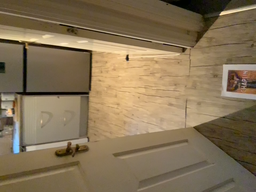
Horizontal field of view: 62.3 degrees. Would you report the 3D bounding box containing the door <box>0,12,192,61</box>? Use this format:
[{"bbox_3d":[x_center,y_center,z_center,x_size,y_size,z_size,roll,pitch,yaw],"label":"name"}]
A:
[{"bbox_3d":[-0.560,-0.370,1.430,0.880,1.990,0.050,8,97,54],"label":"door"}]

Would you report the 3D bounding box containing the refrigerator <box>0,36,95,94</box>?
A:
[{"bbox_3d":[-1.360,-0.380,2.750,0.600,1.720,0.640,13,101,53],"label":"refrigerator"}]
